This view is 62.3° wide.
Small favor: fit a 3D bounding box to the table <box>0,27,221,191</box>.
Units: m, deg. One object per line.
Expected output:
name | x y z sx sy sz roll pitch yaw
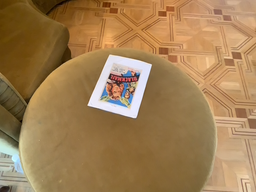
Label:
table | -0.050 0.200 1.050 0.790 0.490 0.850 10 60 3
